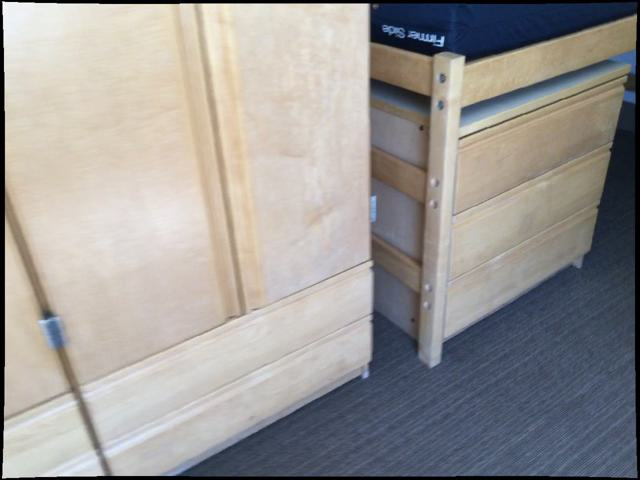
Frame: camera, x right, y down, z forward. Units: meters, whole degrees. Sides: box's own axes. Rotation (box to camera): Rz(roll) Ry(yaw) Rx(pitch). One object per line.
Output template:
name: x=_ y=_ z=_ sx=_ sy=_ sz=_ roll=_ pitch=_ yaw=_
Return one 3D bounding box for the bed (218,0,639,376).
bed: x=0.868 y=-0.642 z=2.350 sx=2.177 sy=1.092 sz=1.050 roll=-23 pitch=36 yaw=-26
